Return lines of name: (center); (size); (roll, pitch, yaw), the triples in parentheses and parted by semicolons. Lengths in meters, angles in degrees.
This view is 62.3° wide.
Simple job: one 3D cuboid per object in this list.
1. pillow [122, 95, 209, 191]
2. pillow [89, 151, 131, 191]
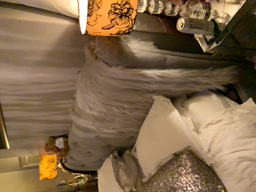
pillow: (0.190, 0.360, 1.460); (0.130, 0.370, 0.740); (0, 144, -27)
pillow: (-0.200, 0.880, 2.070); (0.160, 0.430, 0.660); (4, 142, -25)
